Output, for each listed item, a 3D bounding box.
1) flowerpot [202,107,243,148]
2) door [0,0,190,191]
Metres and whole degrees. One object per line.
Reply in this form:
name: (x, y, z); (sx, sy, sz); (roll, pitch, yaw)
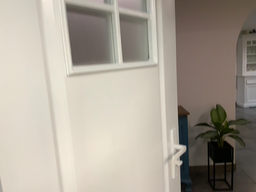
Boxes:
flowerpot: (1.070, 0.350, 2.450); (0.290, 0.340, 0.410); (-3, 9, 2)
door: (0.000, 0.380, 0.690); (0.090, 2.070, 0.940); (3, 11, 34)
